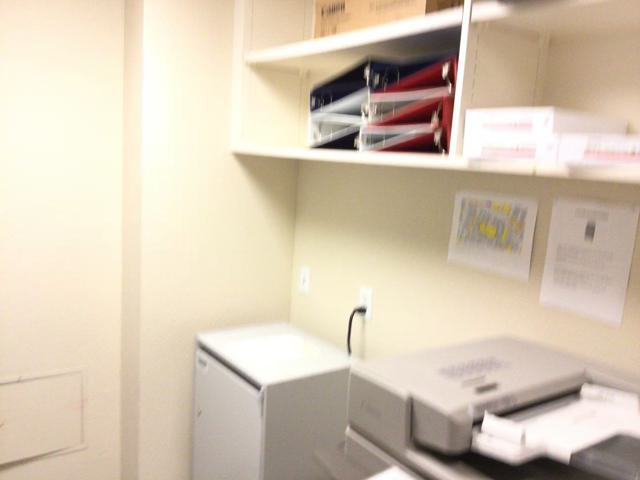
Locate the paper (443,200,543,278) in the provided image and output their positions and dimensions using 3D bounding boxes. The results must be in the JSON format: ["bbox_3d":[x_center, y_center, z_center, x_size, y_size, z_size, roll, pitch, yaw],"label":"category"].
[{"bbox_3d":[0.470,-0.010,1.600,0.030,0.180,0.290,3,5,-35],"label":"paper"}]
